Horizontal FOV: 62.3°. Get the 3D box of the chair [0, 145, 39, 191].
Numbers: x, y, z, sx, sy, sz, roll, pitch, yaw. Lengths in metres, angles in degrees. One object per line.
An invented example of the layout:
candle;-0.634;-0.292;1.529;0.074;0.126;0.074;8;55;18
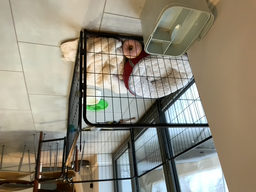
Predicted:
chair;-1.630;1.200;2.950;0.540;0.850;0.430;-26;146;31
